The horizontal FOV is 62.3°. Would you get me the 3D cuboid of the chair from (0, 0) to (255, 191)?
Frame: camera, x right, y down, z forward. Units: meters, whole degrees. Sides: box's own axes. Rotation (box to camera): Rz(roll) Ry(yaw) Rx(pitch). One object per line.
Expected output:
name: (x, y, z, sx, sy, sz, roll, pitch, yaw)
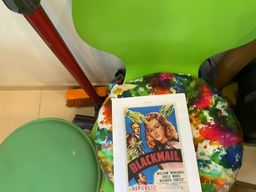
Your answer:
chair: (0.100, 0.070, 0.660, 0.440, 0.880, 0.500, 1, 75, 3)
